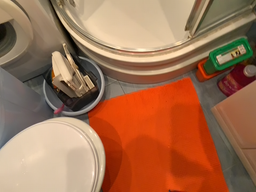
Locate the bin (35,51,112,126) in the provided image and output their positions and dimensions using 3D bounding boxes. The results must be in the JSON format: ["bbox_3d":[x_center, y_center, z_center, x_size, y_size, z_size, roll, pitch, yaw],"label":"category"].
[{"bbox_3d":[-0.270,-0.030,1.100,0.270,0.180,0.250,-28,77,-5],"label":"bin"}]
